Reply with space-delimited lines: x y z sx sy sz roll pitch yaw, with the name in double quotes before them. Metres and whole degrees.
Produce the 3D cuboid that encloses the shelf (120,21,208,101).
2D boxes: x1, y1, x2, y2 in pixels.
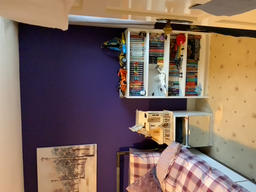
"shelf" 0.450 -0.410 2.690 0.300 1.040 0.890 -161 71 -74
